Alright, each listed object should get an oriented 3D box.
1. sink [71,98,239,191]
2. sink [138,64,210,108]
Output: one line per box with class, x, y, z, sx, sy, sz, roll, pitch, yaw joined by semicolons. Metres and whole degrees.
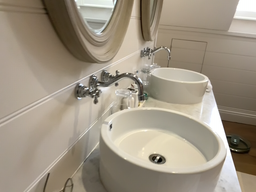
sink;0.100;0.190;0.760;0.430;0.160;0.430;10;21;12
sink;0.350;-0.100;1.600;0.450;0.150;0.440;10;21;12
